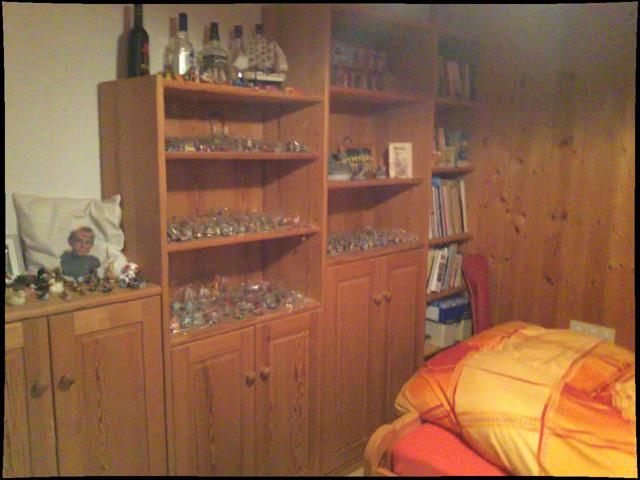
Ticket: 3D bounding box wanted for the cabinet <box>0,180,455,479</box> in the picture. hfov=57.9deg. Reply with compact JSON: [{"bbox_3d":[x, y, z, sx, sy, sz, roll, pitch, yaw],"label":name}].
[{"bbox_3d":[-0.280,0.501,2.290,2.389,1.271,0.300,-12,17,-43],"label":"cabinet"}]
